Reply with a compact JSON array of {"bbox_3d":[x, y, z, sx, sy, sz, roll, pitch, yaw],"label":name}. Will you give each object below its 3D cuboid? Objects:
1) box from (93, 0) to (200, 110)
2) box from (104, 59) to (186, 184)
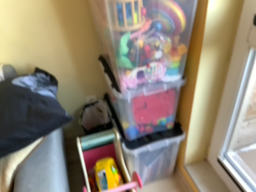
[{"bbox_3d":[0.050,-0.310,1.070,0.330,0.520,0.480,-13,37,-14],"label":"box"},{"bbox_3d":[0.080,0.150,1.410,0.310,0.580,0.520,-12,37,-13],"label":"box"}]
